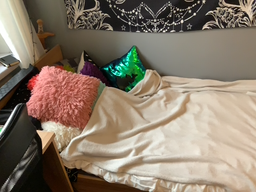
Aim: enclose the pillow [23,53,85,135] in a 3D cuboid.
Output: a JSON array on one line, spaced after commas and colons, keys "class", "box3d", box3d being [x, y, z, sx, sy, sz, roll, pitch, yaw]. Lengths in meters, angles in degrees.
[{"class": "pillow", "box3d": [-0.450, -0.050, 1.400, 0.180, 0.450, 0.450, 4, 103, 9]}]
